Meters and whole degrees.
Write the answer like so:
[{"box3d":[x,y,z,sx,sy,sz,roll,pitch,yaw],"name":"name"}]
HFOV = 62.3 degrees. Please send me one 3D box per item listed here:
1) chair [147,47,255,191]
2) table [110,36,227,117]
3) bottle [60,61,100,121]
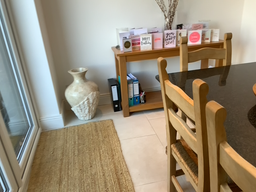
[{"box3d":[0.440,0.290,1.170,0.540,0.980,0.480,-8,25,-9],"name":"chair"},{"box3d":[0.470,-0.270,2.660,1.290,0.770,0.430,-8,25,-9],"name":"table"},{"box3d":[-0.550,-0.070,2.510,0.350,0.560,0.400,-7,25,-9],"name":"bottle"}]
